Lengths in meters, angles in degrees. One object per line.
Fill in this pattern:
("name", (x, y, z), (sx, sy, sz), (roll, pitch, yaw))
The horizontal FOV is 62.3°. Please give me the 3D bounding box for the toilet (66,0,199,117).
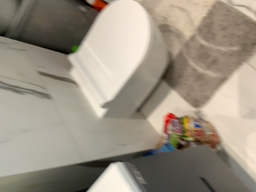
("toilet", (0.010, -0.190, 1.130), (0.480, 0.370, 0.380), (-52, 58, 23))
